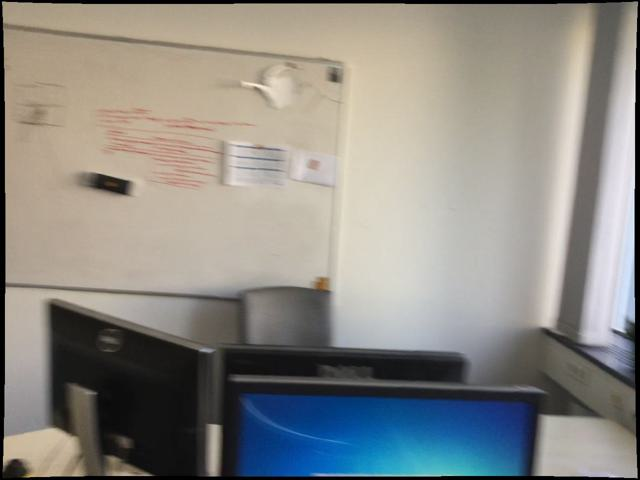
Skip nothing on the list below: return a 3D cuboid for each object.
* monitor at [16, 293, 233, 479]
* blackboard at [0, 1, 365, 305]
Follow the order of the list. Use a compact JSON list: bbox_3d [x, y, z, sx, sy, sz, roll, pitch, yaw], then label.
[{"bbox_3d":[-0.490,0.430,1.430,0.510,0.480,0.200,9,12,28],"label":"monitor"},{"bbox_3d":[-1.079,-0.390,2.720,2.488,1.311,0.120,3,10,-4],"label":"blackboard"}]
